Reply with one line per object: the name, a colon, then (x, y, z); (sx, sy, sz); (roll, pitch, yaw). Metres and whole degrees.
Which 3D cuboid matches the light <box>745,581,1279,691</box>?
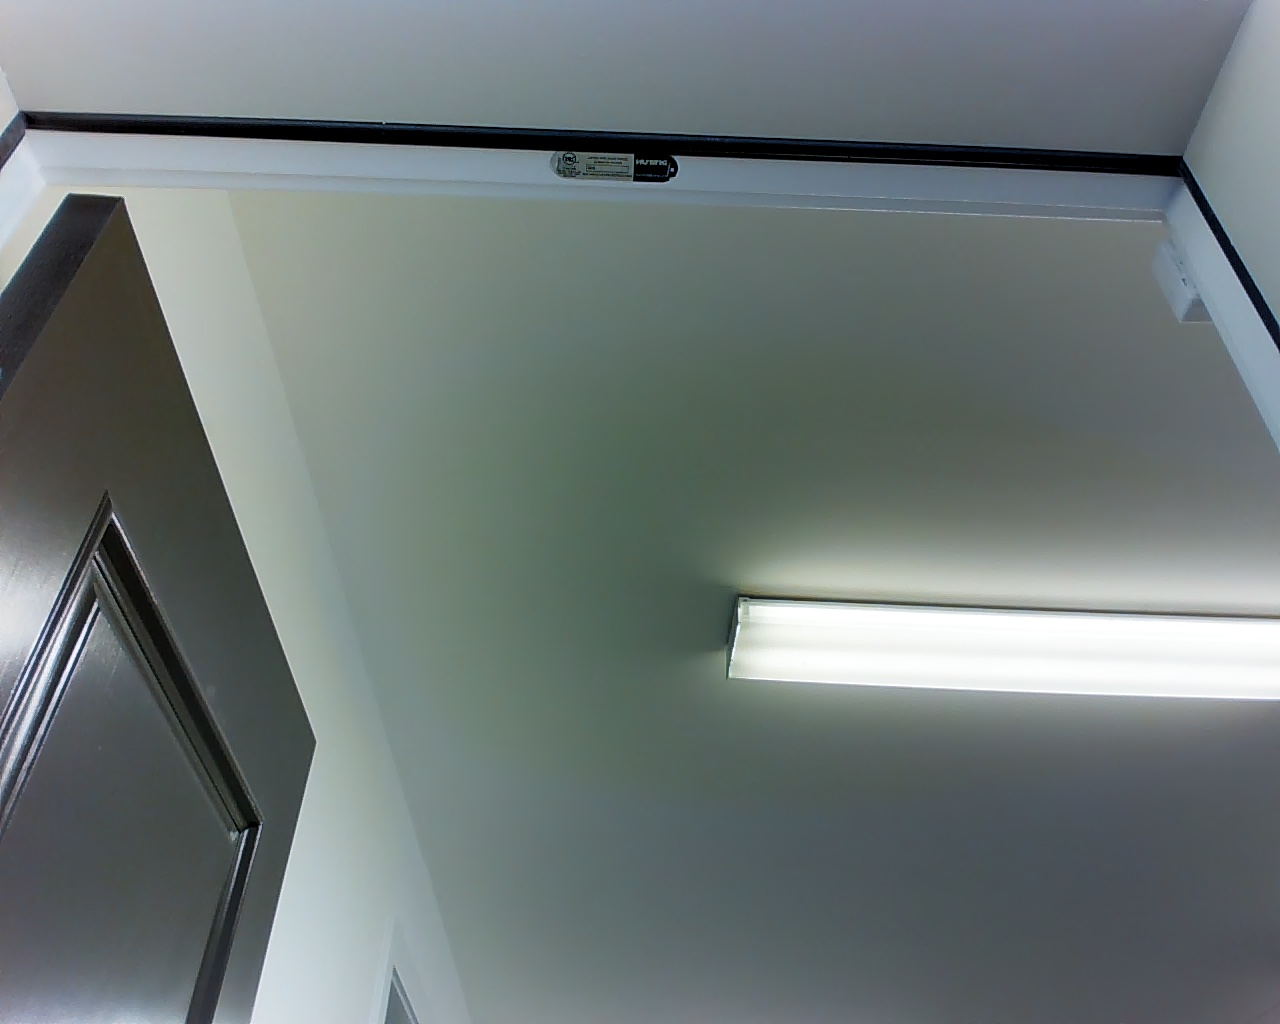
light: (0.840, 0.250, 2.130); (1.240, 0.070, 0.220); (2, -41, 0)
